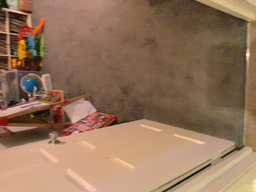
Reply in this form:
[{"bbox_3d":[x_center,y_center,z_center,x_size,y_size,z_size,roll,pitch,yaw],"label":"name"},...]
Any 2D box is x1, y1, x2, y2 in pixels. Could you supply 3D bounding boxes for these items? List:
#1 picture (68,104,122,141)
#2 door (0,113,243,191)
[{"bbox_3d":[-0.320,0.240,2.070,0.300,0.400,0.140,7,119,48],"label":"picture"},{"bbox_3d":[-0.350,0.290,0.870,0.790,2.010,0.090,9,100,48],"label":"door"}]
